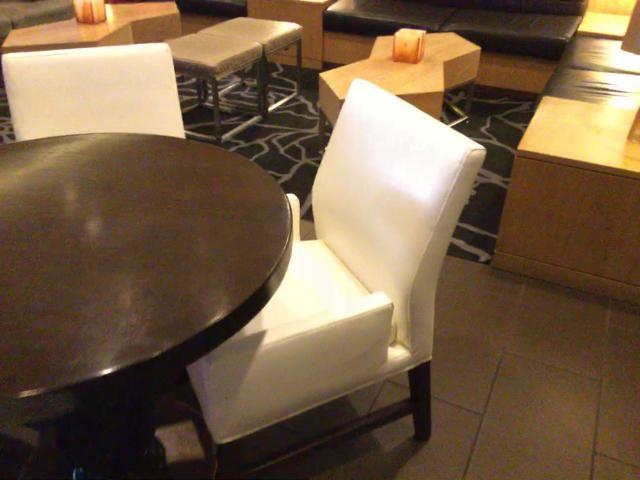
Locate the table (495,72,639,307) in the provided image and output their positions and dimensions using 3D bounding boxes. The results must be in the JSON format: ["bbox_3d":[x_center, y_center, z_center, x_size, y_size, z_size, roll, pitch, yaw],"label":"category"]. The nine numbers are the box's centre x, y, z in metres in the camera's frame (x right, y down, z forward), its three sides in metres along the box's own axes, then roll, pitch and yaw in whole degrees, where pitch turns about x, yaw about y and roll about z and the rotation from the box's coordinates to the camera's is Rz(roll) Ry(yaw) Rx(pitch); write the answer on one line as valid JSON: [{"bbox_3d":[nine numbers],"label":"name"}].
[{"bbox_3d":[1.180,-0.260,2.370,0.670,0.530,0.990,13,34,20],"label":"table"}]

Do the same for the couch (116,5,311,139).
[{"bbox_3d":[-0.580,-1.070,3.520,0.670,0.470,1.050,13,34,20],"label":"couch"}]

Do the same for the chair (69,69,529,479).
[{"bbox_3d":[-0.090,0.130,1.460,0.790,0.870,0.650,-14,34,-21],"label":"chair"}]

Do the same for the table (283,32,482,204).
[{"bbox_3d":[0.360,-0.700,3.050,0.730,0.520,0.990,13,34,20],"label":"table"}]

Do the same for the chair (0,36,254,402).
[{"bbox_3d":[-0.630,-0.120,1.760,0.680,0.780,0.720,-9,33,-14],"label":"chair"}]
